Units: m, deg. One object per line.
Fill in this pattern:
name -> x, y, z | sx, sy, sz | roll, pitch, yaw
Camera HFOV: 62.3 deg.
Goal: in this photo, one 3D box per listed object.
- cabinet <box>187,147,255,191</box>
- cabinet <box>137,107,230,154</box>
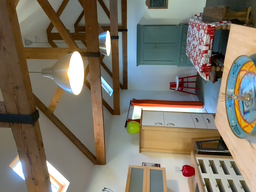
cabinet -> 1.410, 1.420, 2.970 | 1.350, 0.870, 0.670 | -77, -13, -66
cabinet -> 1.120, 0.720, 4.640 | 0.770, 1.790, 0.630 | -77, -13, -66
